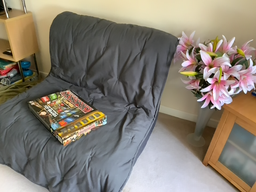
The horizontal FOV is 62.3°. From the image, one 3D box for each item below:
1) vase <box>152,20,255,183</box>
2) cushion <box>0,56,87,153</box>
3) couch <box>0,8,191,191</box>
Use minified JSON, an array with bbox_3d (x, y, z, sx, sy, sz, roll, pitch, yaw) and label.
[{"bbox_3d":[0.610,0.040,1.550,0.620,0.940,0.500,16,37,15],"label":"vase"},{"bbox_3d":[-0.880,0.000,1.930,0.630,0.290,0.870,17,37,16],"label":"cushion"},{"bbox_3d":[-0.190,-0.040,1.550,0.920,0.800,1.100,17,37,17],"label":"couch"}]
